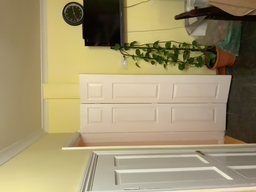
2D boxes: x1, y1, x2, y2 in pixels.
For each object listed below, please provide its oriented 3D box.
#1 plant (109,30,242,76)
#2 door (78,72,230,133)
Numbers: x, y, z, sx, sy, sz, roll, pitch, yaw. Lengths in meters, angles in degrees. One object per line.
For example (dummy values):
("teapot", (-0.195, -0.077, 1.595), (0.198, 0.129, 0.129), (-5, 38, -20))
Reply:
("plant", (0.560, -0.500, 2.560), (0.230, 1.570, 0.490), (-179, 88, -85))
("door", (0.350, 0.080, 2.760), (0.060, 1.940, 0.770), (-113, 23, -77))
